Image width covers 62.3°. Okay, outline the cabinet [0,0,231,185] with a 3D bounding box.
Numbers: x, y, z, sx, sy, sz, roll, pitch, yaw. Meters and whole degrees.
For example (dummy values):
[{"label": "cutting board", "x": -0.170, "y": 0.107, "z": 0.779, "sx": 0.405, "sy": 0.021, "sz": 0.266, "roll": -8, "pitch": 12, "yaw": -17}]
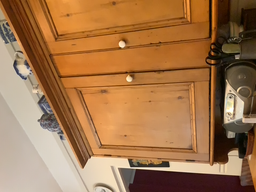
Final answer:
[{"label": "cabinet", "x": -0.040, "y": -0.170, "z": 1.170, "sx": 0.260, "sy": 1.030, "sz": 1.680, "roll": -69, "pitch": -28, "yaw": -52}]
